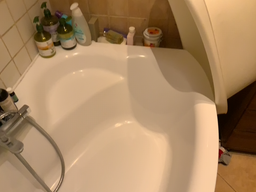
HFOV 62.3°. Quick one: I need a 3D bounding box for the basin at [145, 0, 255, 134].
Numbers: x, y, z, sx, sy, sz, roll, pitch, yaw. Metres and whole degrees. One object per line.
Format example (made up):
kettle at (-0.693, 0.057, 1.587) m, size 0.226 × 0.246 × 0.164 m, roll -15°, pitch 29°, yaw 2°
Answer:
basin at (0.330, -0.230, 0.900) m, size 0.450 × 0.680 × 0.440 m, roll 5°, pitch 49°, yaw 5°
